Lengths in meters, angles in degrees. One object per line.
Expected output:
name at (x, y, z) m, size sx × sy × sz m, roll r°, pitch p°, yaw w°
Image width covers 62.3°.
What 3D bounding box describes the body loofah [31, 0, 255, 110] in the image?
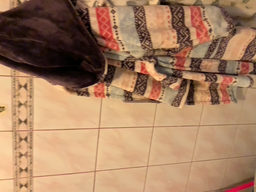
body loofah at (0.250, -0.160, 0.820) m, size 0.220 × 1.120 × 0.370 m, roll -138°, pitch 52°, yaw -64°
